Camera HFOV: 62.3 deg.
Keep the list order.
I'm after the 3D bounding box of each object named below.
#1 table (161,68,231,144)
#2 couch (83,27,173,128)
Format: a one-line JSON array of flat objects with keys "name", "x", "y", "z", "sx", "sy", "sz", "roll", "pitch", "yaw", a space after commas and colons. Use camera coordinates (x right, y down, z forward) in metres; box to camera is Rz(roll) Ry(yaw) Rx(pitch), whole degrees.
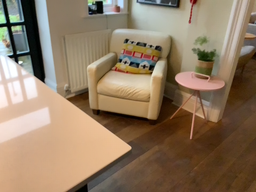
[{"name": "table", "x": 0.660, "y": 0.080, "z": 2.120, "sx": 0.410, "sy": 0.530, "sz": 0.420, "roll": -21, "pitch": 36, "yaw": -36}, {"name": "couch", "x": 0.040, "y": -0.270, "z": 2.430, "sx": 0.780, "sy": 0.800, "sz": 0.820, "roll": 9, "pitch": 29, "yaw": 11}]
